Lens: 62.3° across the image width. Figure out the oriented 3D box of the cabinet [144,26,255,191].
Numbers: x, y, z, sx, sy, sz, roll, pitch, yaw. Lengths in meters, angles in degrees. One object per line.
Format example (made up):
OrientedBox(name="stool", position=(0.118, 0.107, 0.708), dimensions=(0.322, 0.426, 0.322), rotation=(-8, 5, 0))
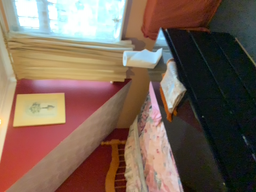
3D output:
OrientedBox(name="cabinet", position=(0.710, 0.150, 1.700), dimensions=(0.490, 0.760, 1.600), rotation=(107, 158, -49))
